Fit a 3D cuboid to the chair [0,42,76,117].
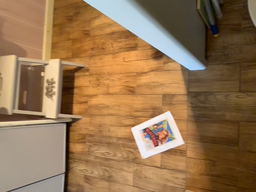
[{"bbox_3d":[-0.700,-0.080,1.540,0.310,0.580,0.430,-1,87,29],"label":"chair"}]
